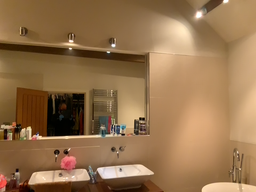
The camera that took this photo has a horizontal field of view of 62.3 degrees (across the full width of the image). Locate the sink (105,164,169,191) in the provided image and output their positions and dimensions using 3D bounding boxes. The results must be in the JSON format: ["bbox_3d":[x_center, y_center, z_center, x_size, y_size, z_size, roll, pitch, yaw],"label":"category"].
[{"bbox_3d":[0.070,0.840,2.180,0.540,0.140,0.460,1,-4,-14],"label":"sink"}]

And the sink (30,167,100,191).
[{"bbox_3d":[-0.580,0.830,2.010,0.570,0.150,0.450,1,-4,-14],"label":"sink"}]
